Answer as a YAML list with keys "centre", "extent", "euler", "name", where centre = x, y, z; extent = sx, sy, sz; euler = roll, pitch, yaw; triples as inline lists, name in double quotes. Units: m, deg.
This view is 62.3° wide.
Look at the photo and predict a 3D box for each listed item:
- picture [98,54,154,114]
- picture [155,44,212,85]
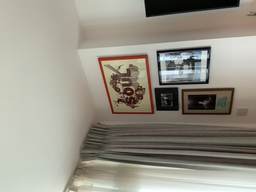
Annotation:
- centre: [0.000, -0.080, 1.950]
  extent: [0.030, 0.430, 0.610]
  euler: [-71, -24, -53]
  name: "picture"
- centre: [0.440, -0.240, 1.710]
  extent: [0.030, 0.420, 0.340]
  euler: [-73, -22, -51]
  name: "picture"
